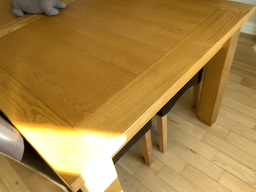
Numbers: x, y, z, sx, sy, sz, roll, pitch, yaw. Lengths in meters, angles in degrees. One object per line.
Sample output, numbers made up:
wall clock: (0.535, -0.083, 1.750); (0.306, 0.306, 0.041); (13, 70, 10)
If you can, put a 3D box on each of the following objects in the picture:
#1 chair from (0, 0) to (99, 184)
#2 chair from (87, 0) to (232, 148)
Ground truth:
chair: (-0.630, -0.090, 1.170); (0.440, 1.020, 0.590); (30, 57, 32)
chair: (0.210, -0.290, 1.240); (0.440, 1.020, 0.600); (30, 57, 32)
